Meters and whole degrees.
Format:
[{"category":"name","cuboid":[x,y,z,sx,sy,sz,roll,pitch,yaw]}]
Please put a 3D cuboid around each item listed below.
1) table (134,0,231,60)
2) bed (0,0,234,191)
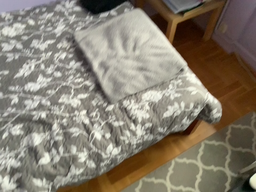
[{"category":"table","cuboid":[0.460,-0.800,2.020,0.570,0.470,0.600,-24,61,-15]},{"category":"bed","cuboid":[-0.690,0.060,1.410,2.170,0.540,1.320,-25,62,-16]}]
